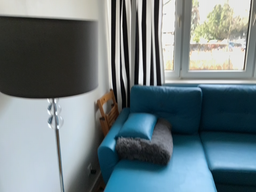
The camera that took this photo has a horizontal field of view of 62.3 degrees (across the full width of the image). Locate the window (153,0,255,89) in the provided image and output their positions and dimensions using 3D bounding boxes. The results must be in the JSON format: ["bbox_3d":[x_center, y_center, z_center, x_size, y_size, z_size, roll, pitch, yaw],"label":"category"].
[{"bbox_3d":[1.060,-0.890,2.370,1.530,1.610,0.190,1,16,9],"label":"window"}]

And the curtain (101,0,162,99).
[{"bbox_3d":[0.050,-0.870,2.330,0.630,1.800,0.240,1,16,9],"label":"curtain"}]
